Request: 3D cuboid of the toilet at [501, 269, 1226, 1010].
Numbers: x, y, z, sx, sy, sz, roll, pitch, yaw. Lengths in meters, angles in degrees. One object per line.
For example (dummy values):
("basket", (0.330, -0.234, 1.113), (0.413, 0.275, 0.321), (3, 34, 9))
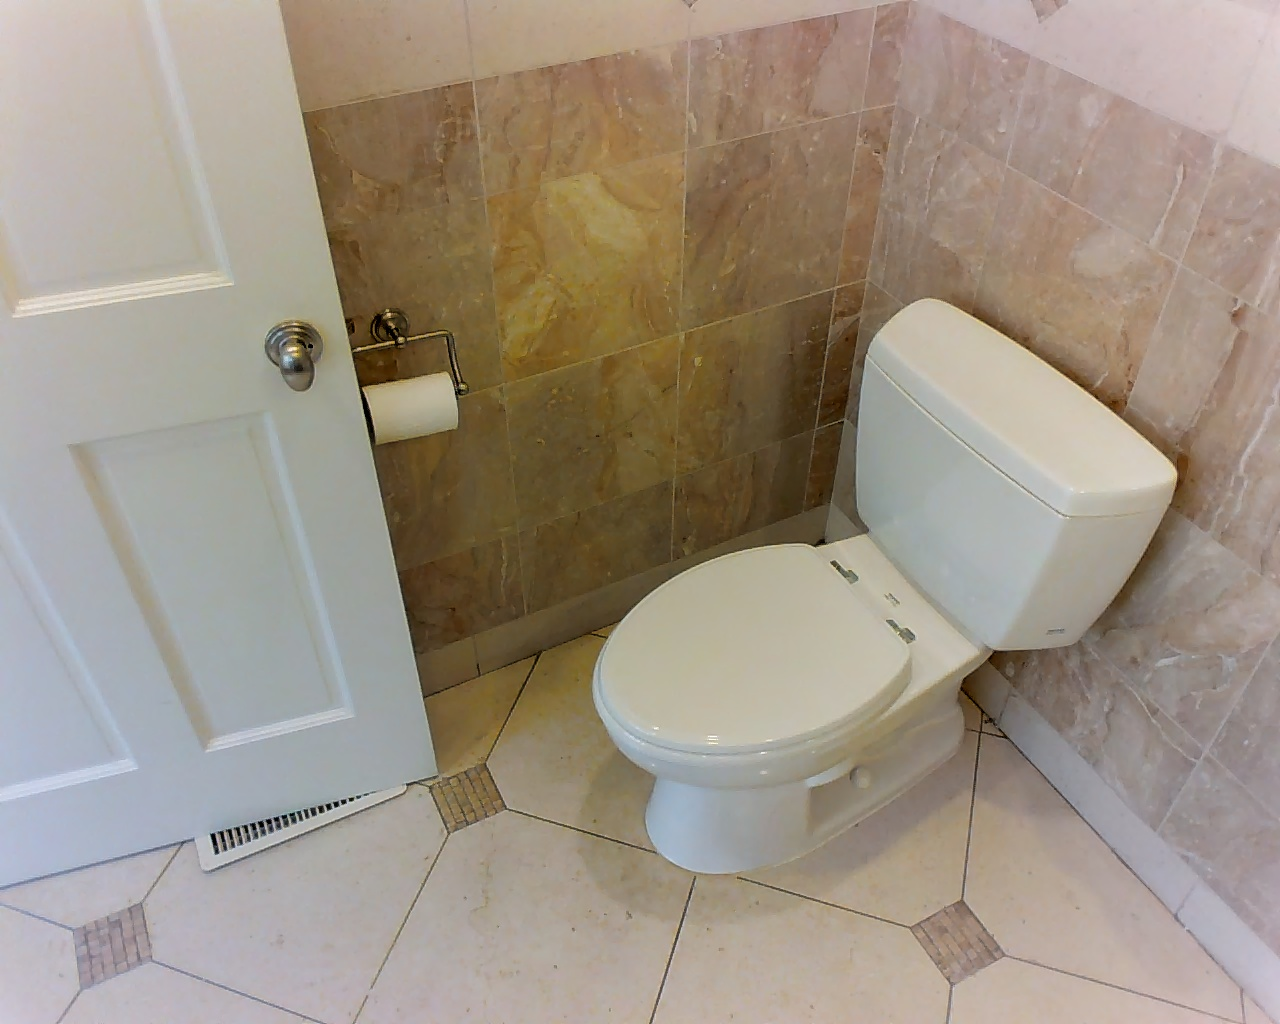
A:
("toilet", (0.270, 0.180, 1.630), (0.750, 0.770, 0.520), (-19, 46, -20))
